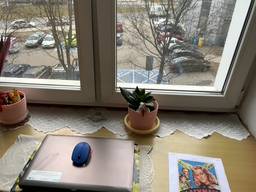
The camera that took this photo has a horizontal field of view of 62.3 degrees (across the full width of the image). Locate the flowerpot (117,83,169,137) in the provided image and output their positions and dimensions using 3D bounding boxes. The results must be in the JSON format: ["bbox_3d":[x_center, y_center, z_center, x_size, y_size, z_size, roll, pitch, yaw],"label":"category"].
[{"bbox_3d":[0.070,0.060,1.030,0.220,0.160,0.200,5,30,3],"label":"flowerpot"}]

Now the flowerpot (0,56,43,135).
[{"bbox_3d":[-0.570,-0.010,0.980,0.240,0.300,0.170,7,30,7],"label":"flowerpot"}]
